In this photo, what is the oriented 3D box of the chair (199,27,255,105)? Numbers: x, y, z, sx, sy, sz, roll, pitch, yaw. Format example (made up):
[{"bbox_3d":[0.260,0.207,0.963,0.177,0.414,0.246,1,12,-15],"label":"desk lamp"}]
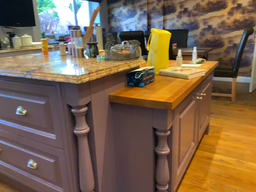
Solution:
[{"bbox_3d":[1.490,-0.480,3.280,0.620,1.090,0.470,6,19,22],"label":"chair"}]

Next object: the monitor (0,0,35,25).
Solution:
[{"bbox_3d":[-1.690,-1.300,3.230,0.050,0.390,0.660,4,18,16],"label":"monitor"}]
